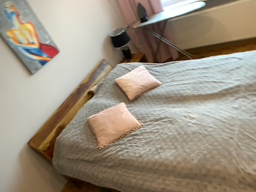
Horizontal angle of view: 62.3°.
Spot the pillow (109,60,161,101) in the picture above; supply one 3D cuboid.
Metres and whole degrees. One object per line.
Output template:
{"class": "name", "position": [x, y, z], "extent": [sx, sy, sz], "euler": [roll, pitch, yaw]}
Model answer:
{"class": "pillow", "position": [0.070, -0.210, 2.590], "extent": [0.410, 0.170, 0.530], "euler": [-34, 32, -11]}

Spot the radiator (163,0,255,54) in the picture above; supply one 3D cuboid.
{"class": "radiator", "position": [1.400, -1.100, 3.400], "extent": [1.590, 0.710, 0.100], "euler": [0, 41, 38]}

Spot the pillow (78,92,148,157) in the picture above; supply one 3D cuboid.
{"class": "pillow", "position": [-0.160, 0.250, 2.090], "extent": [0.510, 0.180, 0.480], "euler": [-36, 32, -14]}
